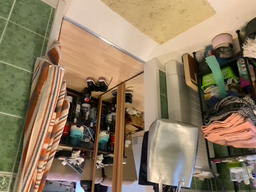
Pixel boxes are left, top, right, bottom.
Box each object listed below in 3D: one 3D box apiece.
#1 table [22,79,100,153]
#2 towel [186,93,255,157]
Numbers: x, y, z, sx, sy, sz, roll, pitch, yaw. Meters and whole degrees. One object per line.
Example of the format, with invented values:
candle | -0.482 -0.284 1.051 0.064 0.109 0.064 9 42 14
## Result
table | -0.790 0.280 2.620 0.740 0.680 0.370 21 149 -35
towel | 0.810 0.260 1.640 0.600 0.290 0.400 22 148 -36
